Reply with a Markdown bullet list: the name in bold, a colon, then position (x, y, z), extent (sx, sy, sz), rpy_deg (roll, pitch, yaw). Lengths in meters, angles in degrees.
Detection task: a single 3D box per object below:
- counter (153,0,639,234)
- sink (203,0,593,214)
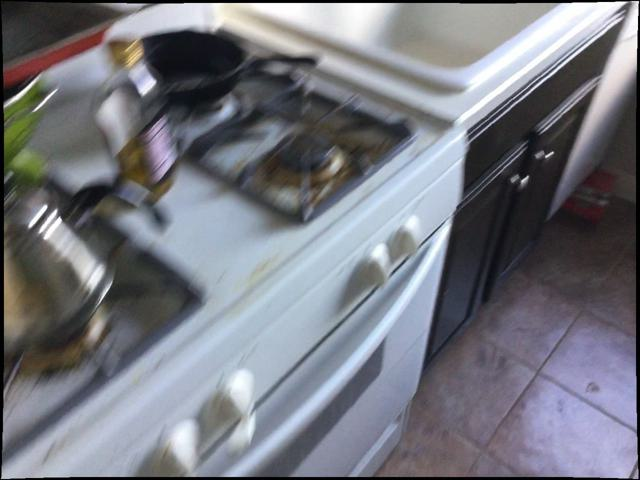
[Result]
- **counter**: position (0.379, -0.642, 1.340), extent (0.669, 0.300, 1.360), rpy_deg (29, 54, 29)
- **sink**: position (0.190, -0.431, 1.290), extent (0.559, 0.230, 0.650), rpy_deg (29, 54, 29)
